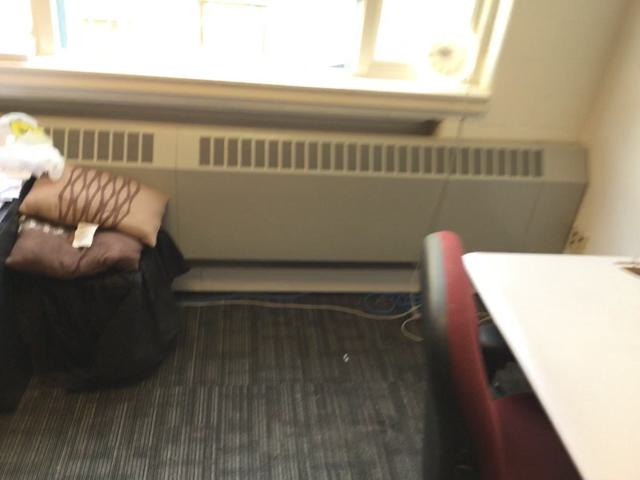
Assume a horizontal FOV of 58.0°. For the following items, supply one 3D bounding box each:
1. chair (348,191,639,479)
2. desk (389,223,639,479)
[{"bbox_3d":[0.400,0.460,1.360,0.590,0.910,0.580,12,26,9],"label":"chair"},{"bbox_3d":[0.770,0.600,1.380,0.780,0.810,1.210,2,26,-11],"label":"desk"}]
